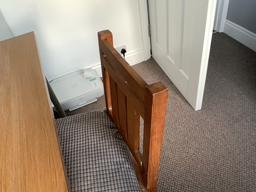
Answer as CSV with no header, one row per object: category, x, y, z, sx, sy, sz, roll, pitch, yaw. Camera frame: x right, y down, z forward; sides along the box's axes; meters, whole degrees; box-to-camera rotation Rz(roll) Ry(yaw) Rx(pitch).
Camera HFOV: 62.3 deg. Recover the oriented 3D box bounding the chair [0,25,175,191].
chair,-0.150,0.270,0.840,0.480,0.850,0.420,-26,47,-15
